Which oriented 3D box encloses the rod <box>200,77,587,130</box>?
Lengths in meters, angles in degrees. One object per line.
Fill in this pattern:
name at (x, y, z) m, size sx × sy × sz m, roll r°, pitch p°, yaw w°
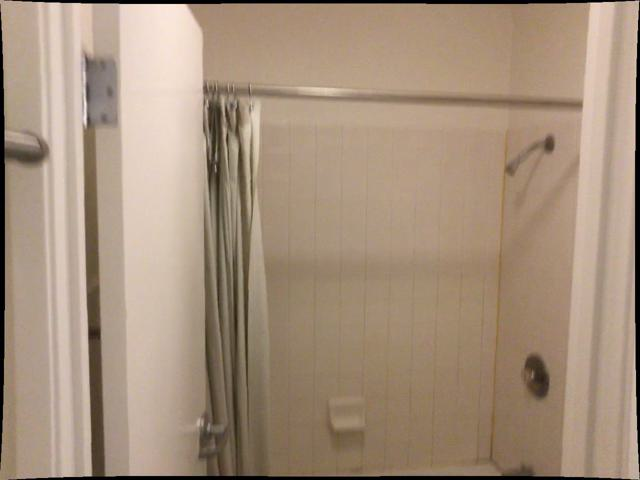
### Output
rod at (0.230, -0.391, 1.680) m, size 1.128 × 0.100 × 0.100 m, roll 0°, pitch 6°, yaw -9°
